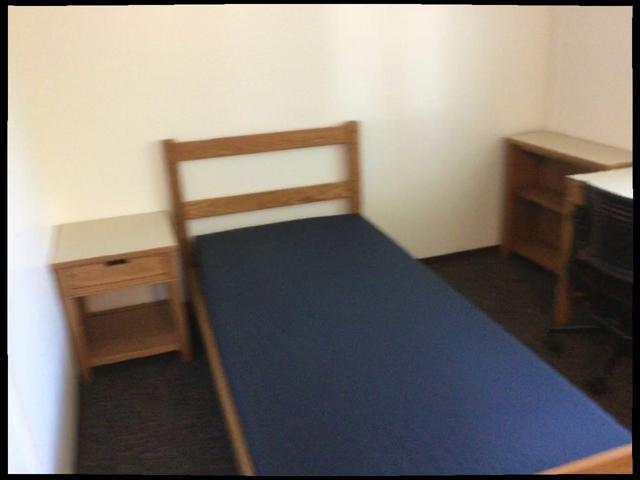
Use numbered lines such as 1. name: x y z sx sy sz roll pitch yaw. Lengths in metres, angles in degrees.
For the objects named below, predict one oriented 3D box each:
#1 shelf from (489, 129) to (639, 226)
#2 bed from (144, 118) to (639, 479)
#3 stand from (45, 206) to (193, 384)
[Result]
1. shelf: 1.327 -0.371 3.130 0.369 0.280 0.830 -9 23 -17
2. bed: 0.060 0.260 2.130 1.118 0.962 2.170 -9 23 -17
3. stand: -0.918 0.230 2.690 0.519 0.591 0.490 -9 23 -17
